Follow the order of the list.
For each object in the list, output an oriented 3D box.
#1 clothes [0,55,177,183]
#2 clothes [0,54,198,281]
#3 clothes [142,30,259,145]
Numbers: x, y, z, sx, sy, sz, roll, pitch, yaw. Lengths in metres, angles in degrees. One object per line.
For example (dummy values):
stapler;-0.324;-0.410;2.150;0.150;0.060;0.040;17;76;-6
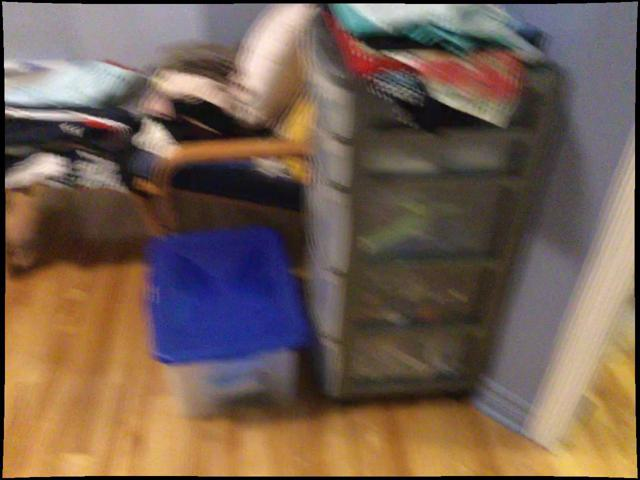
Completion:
clothes;-0.769;-0.390;1.790;0.569;0.180;0.490;-2;39;-5
clothes;-0.789;-0.250;1.880;0.679;0.510;0.550;-2;39;-5
clothes;-0.330;-0.460;1.700;0.290;0.170;0.420;-2;39;-5
